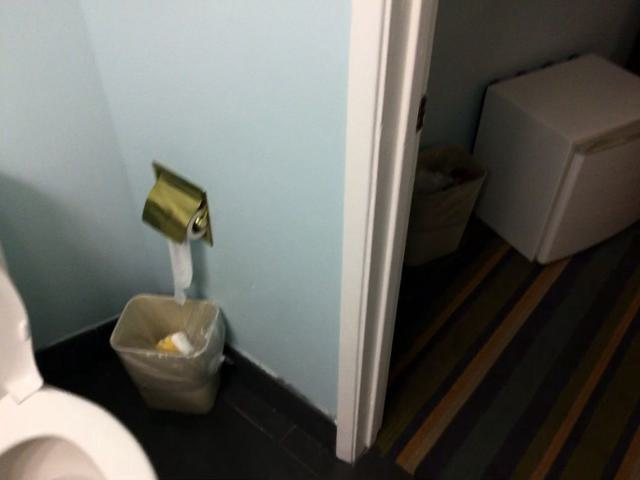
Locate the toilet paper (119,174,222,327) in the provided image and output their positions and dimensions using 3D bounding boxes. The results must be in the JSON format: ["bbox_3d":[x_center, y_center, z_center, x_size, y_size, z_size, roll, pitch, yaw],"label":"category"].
[{"bbox_3d":[-0.320,0.030,1.270,0.130,0.320,0.090,28,51,30],"label":"toilet paper"}]

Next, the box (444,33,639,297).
[{"bbox_3d":[0.830,-0.280,1.890,0.560,0.470,0.610,28,51,30],"label":"box"}]
